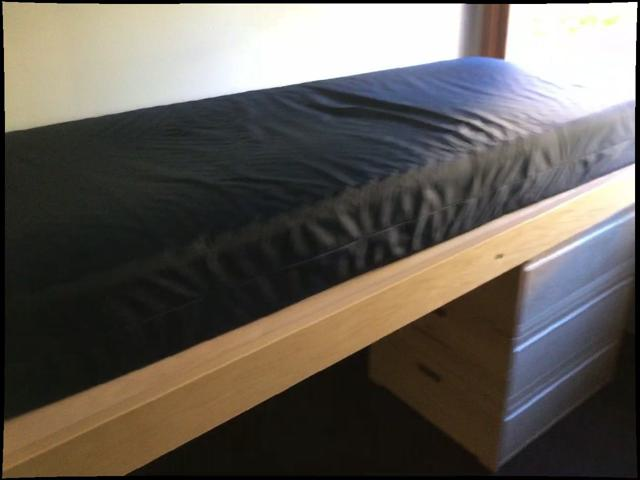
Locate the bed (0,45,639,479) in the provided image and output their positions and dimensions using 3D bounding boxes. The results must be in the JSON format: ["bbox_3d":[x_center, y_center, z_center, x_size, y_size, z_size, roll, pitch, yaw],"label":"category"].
[{"bbox_3d":[0.090,0.150,1.750,2.217,1.092,1.069,-21,31,-33],"label":"bed"}]
